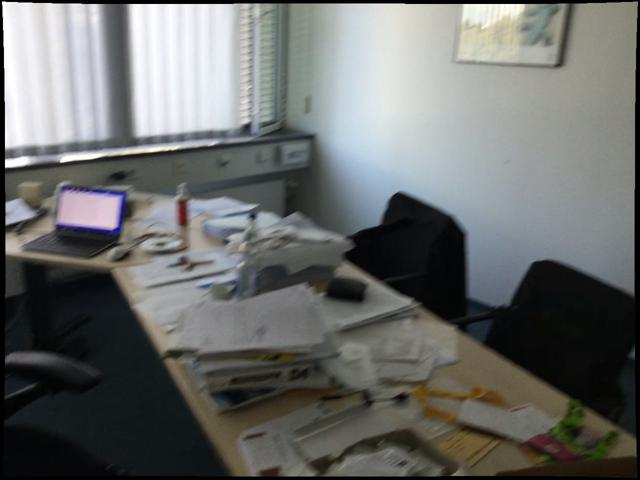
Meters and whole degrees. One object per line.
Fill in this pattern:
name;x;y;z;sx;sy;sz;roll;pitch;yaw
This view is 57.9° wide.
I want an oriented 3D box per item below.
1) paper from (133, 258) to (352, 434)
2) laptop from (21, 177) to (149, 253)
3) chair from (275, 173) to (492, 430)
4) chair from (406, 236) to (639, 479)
paper;-0.190;0.230;1.430;0.380;0.180;0.370;-17;27;-39
laptop;-0.929;-0.110;2.310;0.370;0.190;0.270;8;22;19
chair;0.230;0.200;2.450;0.590;0.781;0.650;-12;24;-30
chair;0.649;0.470;1.750;0.480;0.761;0.550;-13;24;-32
